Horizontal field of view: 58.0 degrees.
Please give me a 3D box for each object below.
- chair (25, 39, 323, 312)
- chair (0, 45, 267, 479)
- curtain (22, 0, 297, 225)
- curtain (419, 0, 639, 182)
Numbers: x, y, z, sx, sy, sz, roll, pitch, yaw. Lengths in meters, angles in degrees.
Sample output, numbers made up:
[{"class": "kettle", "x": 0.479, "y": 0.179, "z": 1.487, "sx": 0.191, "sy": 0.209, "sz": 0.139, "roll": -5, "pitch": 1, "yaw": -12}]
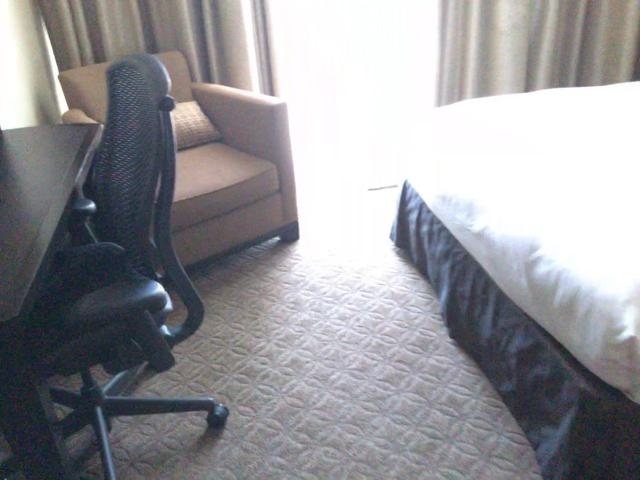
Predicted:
[{"class": "chair", "x": -0.690, "y": -0.410, "z": 2.780, "sx": 0.890, "sy": 0.880, "sz": 1.050, "roll": -23, "pitch": 31, "yaw": -31}, {"class": "chair", "x": -0.690, "y": 0.110, "z": 1.590, "sx": 0.710, "sy": 1.090, "sz": 0.690, "roll": -21, "pitch": 31, "yaw": -29}, {"class": "curtain", "x": -0.790, "y": -1.100, "z": 2.840, "sx": 1.150, "sy": 1.970, "sz": 0.240, "roll": -9, "pitch": 27, "yaw": -8}, {"class": "curtain", "x": 1.280, "y": -1.400, "z": 3.150, "sx": 1.410, "sy": 2.000, "sz": 0.400, "roll": -6, "pitch": 27, "yaw": -3}]
